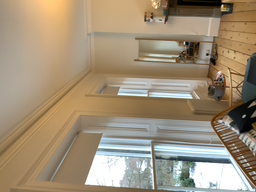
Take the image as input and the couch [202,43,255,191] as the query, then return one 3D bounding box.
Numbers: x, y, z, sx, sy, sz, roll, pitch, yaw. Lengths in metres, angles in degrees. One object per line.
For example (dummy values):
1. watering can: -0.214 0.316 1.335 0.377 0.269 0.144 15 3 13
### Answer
1. couch: 1.460 0.100 2.160 1.760 0.760 1.000 -81 -6 -69
